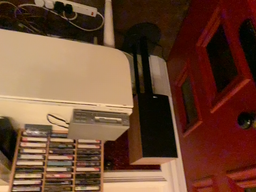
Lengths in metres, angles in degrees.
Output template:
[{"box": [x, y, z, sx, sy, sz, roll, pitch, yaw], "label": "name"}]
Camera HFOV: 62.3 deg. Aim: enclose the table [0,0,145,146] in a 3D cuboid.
[{"box": [-0.470, -0.200, 1.060, 0.880, 0.750, 0.590, 6, 153, -19], "label": "table"}]
